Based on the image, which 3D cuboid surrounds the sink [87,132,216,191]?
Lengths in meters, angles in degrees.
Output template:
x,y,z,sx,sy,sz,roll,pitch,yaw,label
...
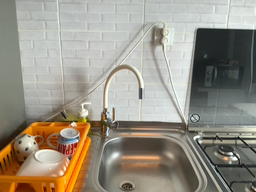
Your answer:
x,y,z,sx,sy,sz,roll,pitch,yaw,label
0.070,0.330,0.890,0.410,0.170,0.450,1,15,-1,sink
